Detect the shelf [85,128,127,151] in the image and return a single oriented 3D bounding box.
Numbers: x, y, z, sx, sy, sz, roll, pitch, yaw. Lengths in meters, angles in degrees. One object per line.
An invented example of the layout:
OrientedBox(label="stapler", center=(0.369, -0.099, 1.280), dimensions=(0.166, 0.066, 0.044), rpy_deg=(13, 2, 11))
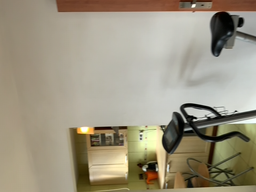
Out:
OrientedBox(label="shelf", center=(-0.390, 0.790, 3.880), dimensions=(0.300, 0.740, 0.270), rpy_deg=(-99, 8, -69))
